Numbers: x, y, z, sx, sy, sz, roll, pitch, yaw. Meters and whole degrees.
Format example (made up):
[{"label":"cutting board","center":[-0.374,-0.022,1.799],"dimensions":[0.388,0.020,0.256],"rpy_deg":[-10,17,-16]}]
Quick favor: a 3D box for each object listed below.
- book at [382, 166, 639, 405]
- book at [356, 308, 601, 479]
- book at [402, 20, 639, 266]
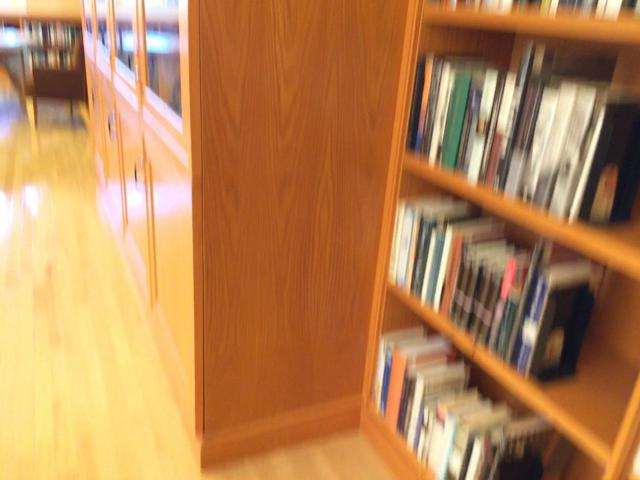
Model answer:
[{"label":"book","center":[0.420,0.070,1.430],"dimensions":[0.240,0.370,0.540],"rpy_deg":[-3,24,-25]},{"label":"book","center":[0.400,0.480,1.630],"dimensions":[0.330,0.310,0.570],"rpy_deg":[-3,24,-25]},{"label":"book","center":[0.480,-0.250,1.260],"dimensions":[0.250,0.370,0.630],"rpy_deg":[-3,24,-25]}]
